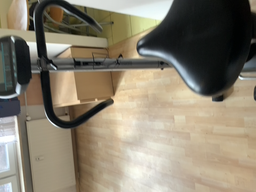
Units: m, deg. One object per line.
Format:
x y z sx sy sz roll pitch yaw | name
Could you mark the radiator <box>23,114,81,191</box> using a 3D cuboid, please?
-1.100 0.860 3.130 0.190 0.680 1.100 0 95 52 | radiator
